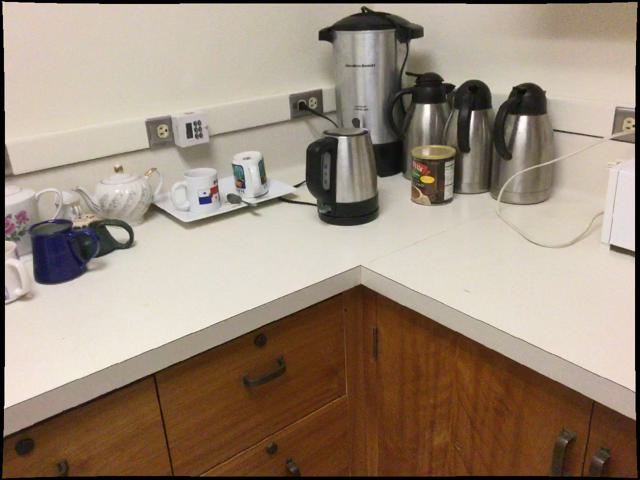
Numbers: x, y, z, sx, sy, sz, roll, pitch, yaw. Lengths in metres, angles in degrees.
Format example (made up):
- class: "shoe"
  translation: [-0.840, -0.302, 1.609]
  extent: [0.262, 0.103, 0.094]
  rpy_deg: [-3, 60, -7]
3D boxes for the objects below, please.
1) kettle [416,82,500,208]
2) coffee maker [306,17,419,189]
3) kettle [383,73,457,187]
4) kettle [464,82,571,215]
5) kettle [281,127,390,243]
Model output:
- class: "kettle"
  translation: [0.339, -0.241, 1.430]
  extent: [0.140, 0.271, 0.140]
  rpy_deg: [-19, 26, -34]
- class: "coffee maker"
  translation: [0.120, -0.381, 1.580]
  extent: [0.180, 0.411, 0.240]
  rpy_deg: [-19, 26, -34]
- class: "kettle"
  translation: [0.269, -0.301, 1.550]
  extent: [0.130, 0.271, 0.140]
  rpy_deg: [-19, 26, -34]
- class: "kettle"
  translation: [0.459, -0.221, 1.350]
  extent: [0.190, 0.261, 0.140]
  rpy_deg: [-20, 26, -34]
- class: "kettle"
  translation: [0.040, -0.130, 1.290]
  extent: [0.210, 0.200, 0.110]
  rpy_deg: [-20, 26, -34]
